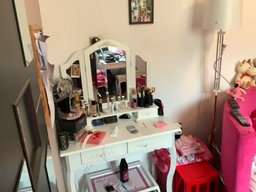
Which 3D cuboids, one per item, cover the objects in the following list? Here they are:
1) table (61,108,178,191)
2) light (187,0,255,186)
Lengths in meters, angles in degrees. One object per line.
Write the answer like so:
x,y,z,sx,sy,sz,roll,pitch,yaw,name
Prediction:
-0.080,0.600,1.820,0.850,0.760,0.450,-8,20,-16,table
0.780,-0.020,1.910,0.240,1.660,0.400,-7,20,-12,light
